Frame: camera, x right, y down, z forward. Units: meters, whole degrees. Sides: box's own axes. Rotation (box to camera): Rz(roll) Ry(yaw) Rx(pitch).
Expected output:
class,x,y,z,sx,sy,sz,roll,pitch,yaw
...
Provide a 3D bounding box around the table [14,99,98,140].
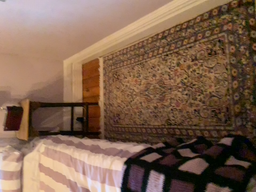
class,x,y,z,sx,sy,sz,roll,pitch,yaw
table,-0.730,0.230,2.200,0.380,0.730,0.350,-8,82,50
